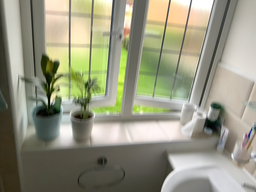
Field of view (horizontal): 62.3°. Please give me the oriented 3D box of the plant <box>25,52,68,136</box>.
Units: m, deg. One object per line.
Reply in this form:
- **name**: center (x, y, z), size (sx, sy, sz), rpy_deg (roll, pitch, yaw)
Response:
- **plant**: center (-0.370, -0.010, 1.000), size (0.160, 0.350, 0.170), rpy_deg (1, 25, -15)

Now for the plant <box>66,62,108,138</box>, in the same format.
- **plant**: center (-0.210, 0.020, 1.050), size (0.180, 0.330, 0.160), rpy_deg (1, 24, -13)
